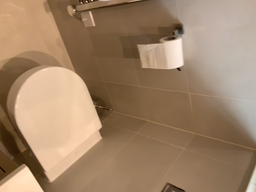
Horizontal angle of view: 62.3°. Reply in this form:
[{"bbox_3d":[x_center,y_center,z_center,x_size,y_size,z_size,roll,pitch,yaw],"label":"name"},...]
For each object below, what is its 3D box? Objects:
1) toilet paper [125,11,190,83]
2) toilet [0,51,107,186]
[{"bbox_3d":[0.130,-0.210,0.930,0.090,0.230,0.270,-38,125,-37],"label":"toilet paper"},{"bbox_3d":[-0.480,0.080,1.170,0.380,0.460,0.540,-38,125,-37],"label":"toilet"}]
